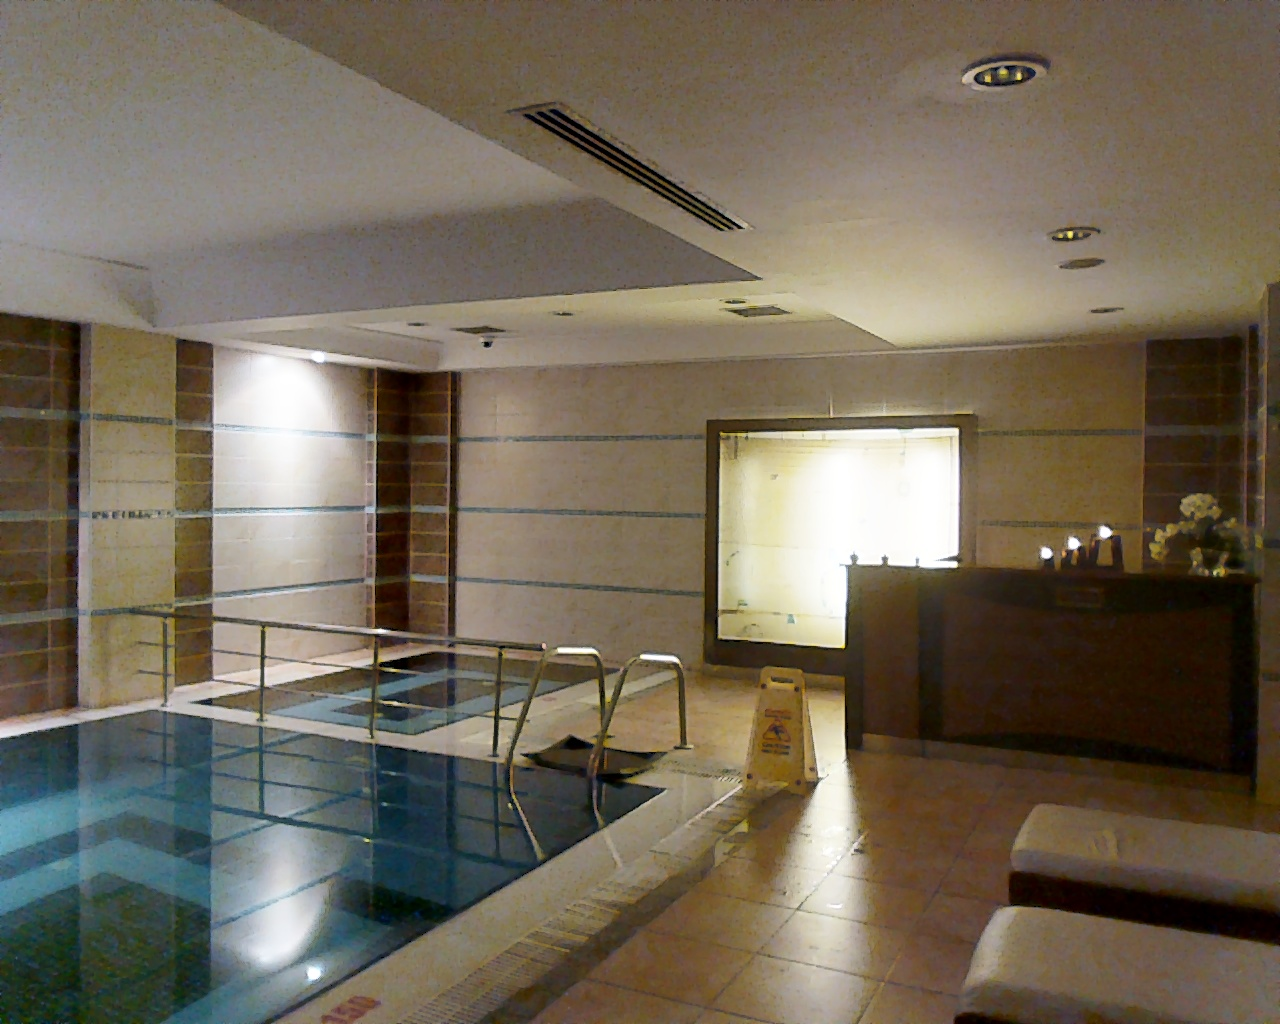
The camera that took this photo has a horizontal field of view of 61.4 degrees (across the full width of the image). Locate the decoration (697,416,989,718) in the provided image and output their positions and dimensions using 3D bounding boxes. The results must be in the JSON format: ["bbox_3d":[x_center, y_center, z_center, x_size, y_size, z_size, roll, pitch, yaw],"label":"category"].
[{"bbox_3d":[1.540,0.390,8.450,2.260,2.190,0.250,1,1,27],"label":"decoration"}]

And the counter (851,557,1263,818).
[{"bbox_3d":[2.639,0.940,6.770,2.120,1.180,1.910,1,1,27],"label":"counter"}]
